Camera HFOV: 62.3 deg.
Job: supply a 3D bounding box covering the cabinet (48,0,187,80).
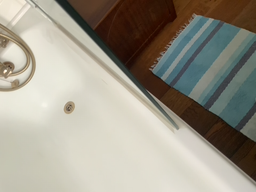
[{"bbox_3d":[-0.020,-0.460,1.140,0.510,0.450,0.360,-47,62,1],"label":"cabinet"}]
